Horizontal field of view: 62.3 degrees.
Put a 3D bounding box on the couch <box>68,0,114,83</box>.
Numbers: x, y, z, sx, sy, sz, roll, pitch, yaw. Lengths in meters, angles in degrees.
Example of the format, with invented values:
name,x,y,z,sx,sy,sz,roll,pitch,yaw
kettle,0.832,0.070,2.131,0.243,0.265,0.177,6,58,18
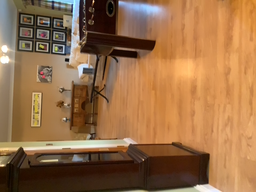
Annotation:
name,x,y,z,sx,sy,sz,roll,pitch,yaw
couch,-1.070,-1.570,5.620,1.060,0.850,2.170,-113,32,-52
